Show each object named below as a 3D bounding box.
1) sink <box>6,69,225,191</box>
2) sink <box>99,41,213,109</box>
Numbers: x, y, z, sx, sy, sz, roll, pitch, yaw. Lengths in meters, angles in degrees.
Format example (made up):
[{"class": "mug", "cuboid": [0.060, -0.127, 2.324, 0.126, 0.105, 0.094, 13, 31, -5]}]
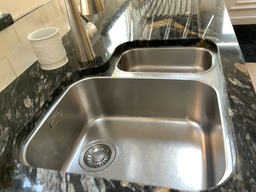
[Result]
[{"class": "sink", "cuboid": [0.000, 0.110, 0.610, 0.450, 0.200, 0.360, 4, 40, 15]}, {"class": "sink", "cuboid": [0.110, -0.090, 0.790, 0.360, 0.140, 0.220, 4, 40, 15]}]
